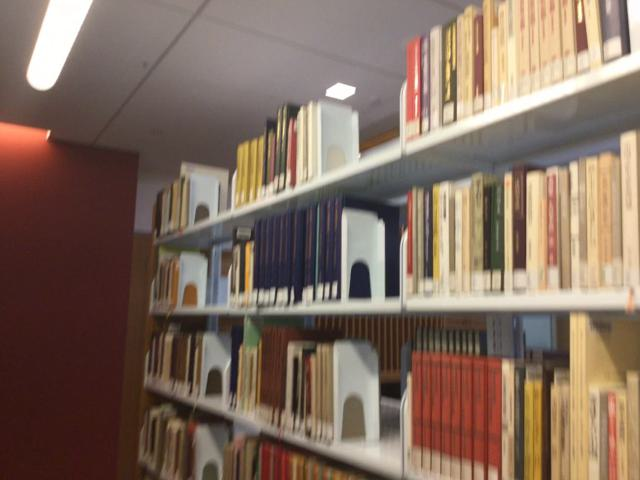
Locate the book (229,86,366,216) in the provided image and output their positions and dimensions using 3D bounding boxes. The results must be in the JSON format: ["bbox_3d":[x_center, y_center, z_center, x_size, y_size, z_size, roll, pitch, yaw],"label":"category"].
[{"bbox_3d":[-0.090,-0.240,1.750,0.150,0.250,0.570,8,-8,-29],"label":"book"}]

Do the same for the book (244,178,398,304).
[{"bbox_3d":[-0.020,0.030,1.590,0.160,0.280,0.540,7,-10,-30],"label":"book"}]

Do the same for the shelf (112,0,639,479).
[{"bbox_3d":[0.460,0.670,1.140,0.690,2.260,3.980,8,-9,-32],"label":"shelf"}]

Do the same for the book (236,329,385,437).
[{"bbox_3d":[-0.050,0.370,1.600,0.140,0.230,0.550,6,-9,-32],"label":"book"}]

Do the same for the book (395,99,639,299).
[{"bbox_3d":[0.410,-0.040,0.960,0.160,0.260,0.680,8,-10,-32],"label":"book"}]
